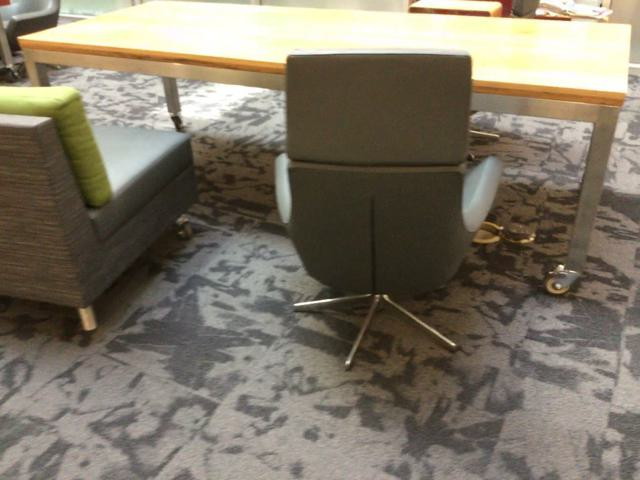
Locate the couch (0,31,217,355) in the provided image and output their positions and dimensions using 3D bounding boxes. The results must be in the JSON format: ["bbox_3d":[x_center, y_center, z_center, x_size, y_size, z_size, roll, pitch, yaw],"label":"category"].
[{"bbox_3d":[-0.930,-0.230,2.100,0.760,0.810,0.830,8,32,12],"label":"couch"}]

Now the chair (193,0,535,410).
[{"bbox_3d":[0.160,-0.170,1.740,0.710,0.950,0.750,8,32,12],"label":"chair"}]
